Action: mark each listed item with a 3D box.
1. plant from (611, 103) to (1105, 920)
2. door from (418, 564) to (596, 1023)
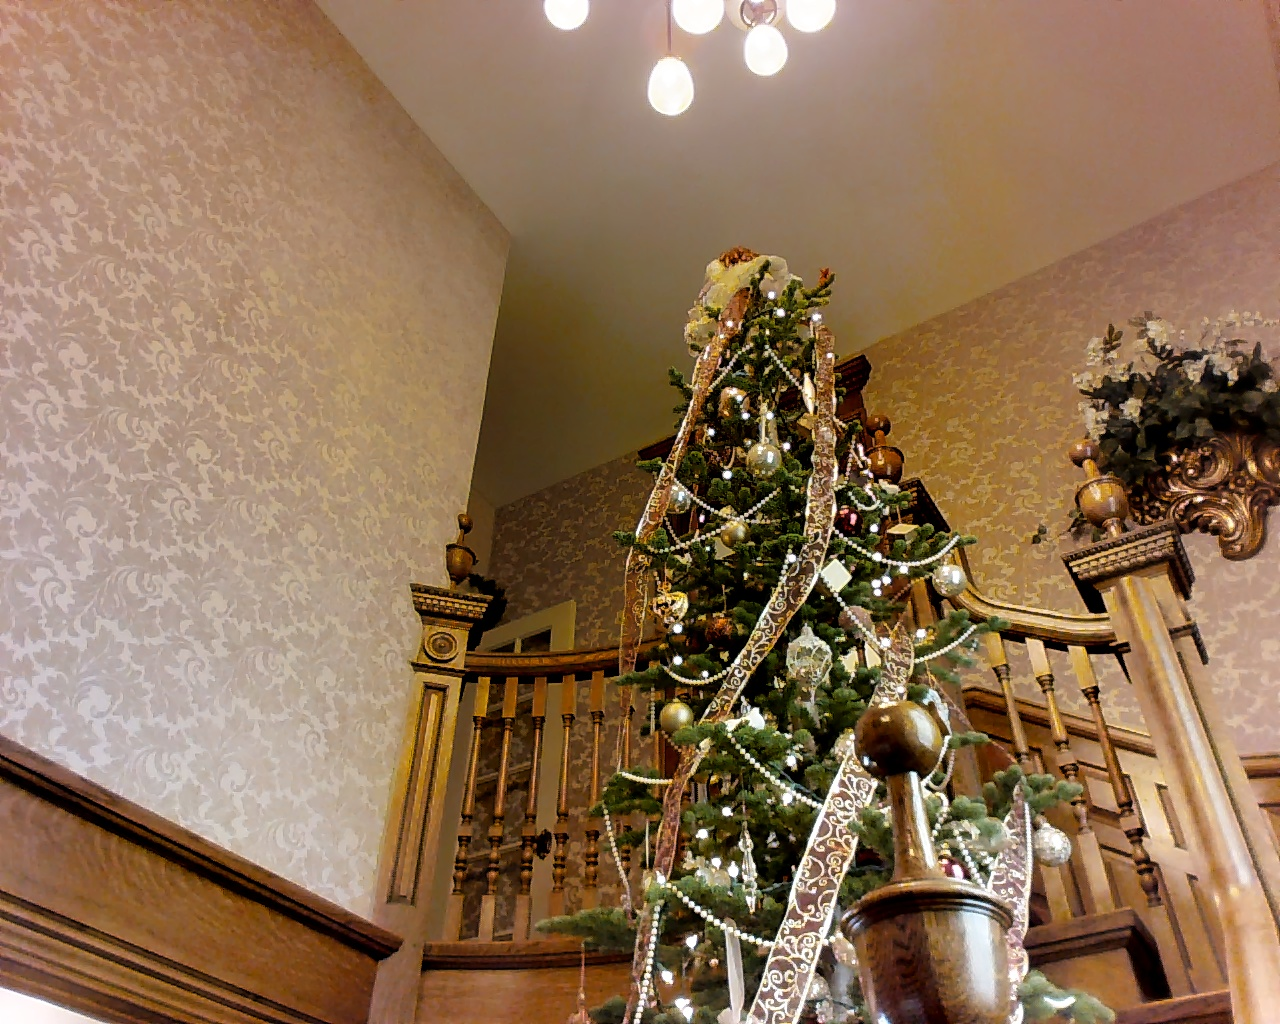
[{"bbox_3d":[0.430,-0.150,2.760,0.820,2.090,0.470,-21,-46,22],"label":"plant"},{"bbox_3d":[-0.520,1.210,4.460,0.620,2.210,0.120,-22,-47,24],"label":"door"}]
